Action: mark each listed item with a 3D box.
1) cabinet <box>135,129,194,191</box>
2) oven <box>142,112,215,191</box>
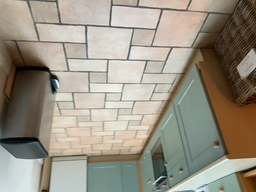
[{"bbox_3d":[0.510,1.140,3.400,0.580,0.890,0.920,-1,149,-8],"label":"cabinet"},{"bbox_3d":[0.580,0.750,2.750,0.600,0.890,0.610,-1,149,-8],"label":"oven"}]
